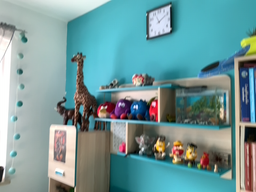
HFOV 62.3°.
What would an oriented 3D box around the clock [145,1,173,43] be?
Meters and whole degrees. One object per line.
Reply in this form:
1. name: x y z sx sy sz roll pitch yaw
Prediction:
1. clock: 0.250 -0.600 1.750 0.040 0.270 0.260 5 -5 -44
